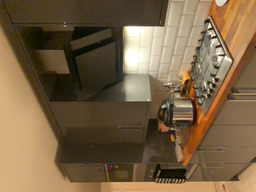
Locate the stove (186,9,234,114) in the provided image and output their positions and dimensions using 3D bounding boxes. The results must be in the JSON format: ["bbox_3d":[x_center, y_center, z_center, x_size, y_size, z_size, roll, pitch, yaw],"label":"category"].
[{"bbox_3d":[0.580,-0.250,1.610,0.570,0.040,0.540,92,177,-50],"label":"stove"}]

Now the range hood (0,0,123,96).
[{"bbox_3d":[-0.420,-0.350,1.650,0.700,0.760,0.330,92,177,-50],"label":"range hood"}]

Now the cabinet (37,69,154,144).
[{"bbox_3d":[-0.290,0.150,2.270,0.830,1.000,0.380,92,177,-50],"label":"cabinet"}]
